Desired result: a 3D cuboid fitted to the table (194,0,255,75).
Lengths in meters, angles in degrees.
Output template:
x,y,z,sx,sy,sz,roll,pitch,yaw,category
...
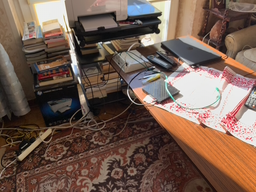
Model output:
x,y,z,sx,sy,sz,roll,pitch,yaw,category
1.190,-0.640,2.260,0.870,0.620,0.220,-15,41,-18,table
